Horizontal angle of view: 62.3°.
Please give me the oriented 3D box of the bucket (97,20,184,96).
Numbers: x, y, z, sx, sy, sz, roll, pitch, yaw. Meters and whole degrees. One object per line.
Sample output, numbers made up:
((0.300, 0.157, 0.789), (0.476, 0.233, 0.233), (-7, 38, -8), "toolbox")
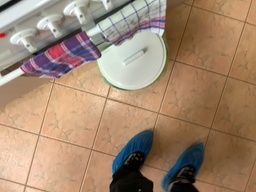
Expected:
((0.050, -0.160, 0.990), (0.300, 0.280, 0.180), (-28, 94, 1), "bucket")
